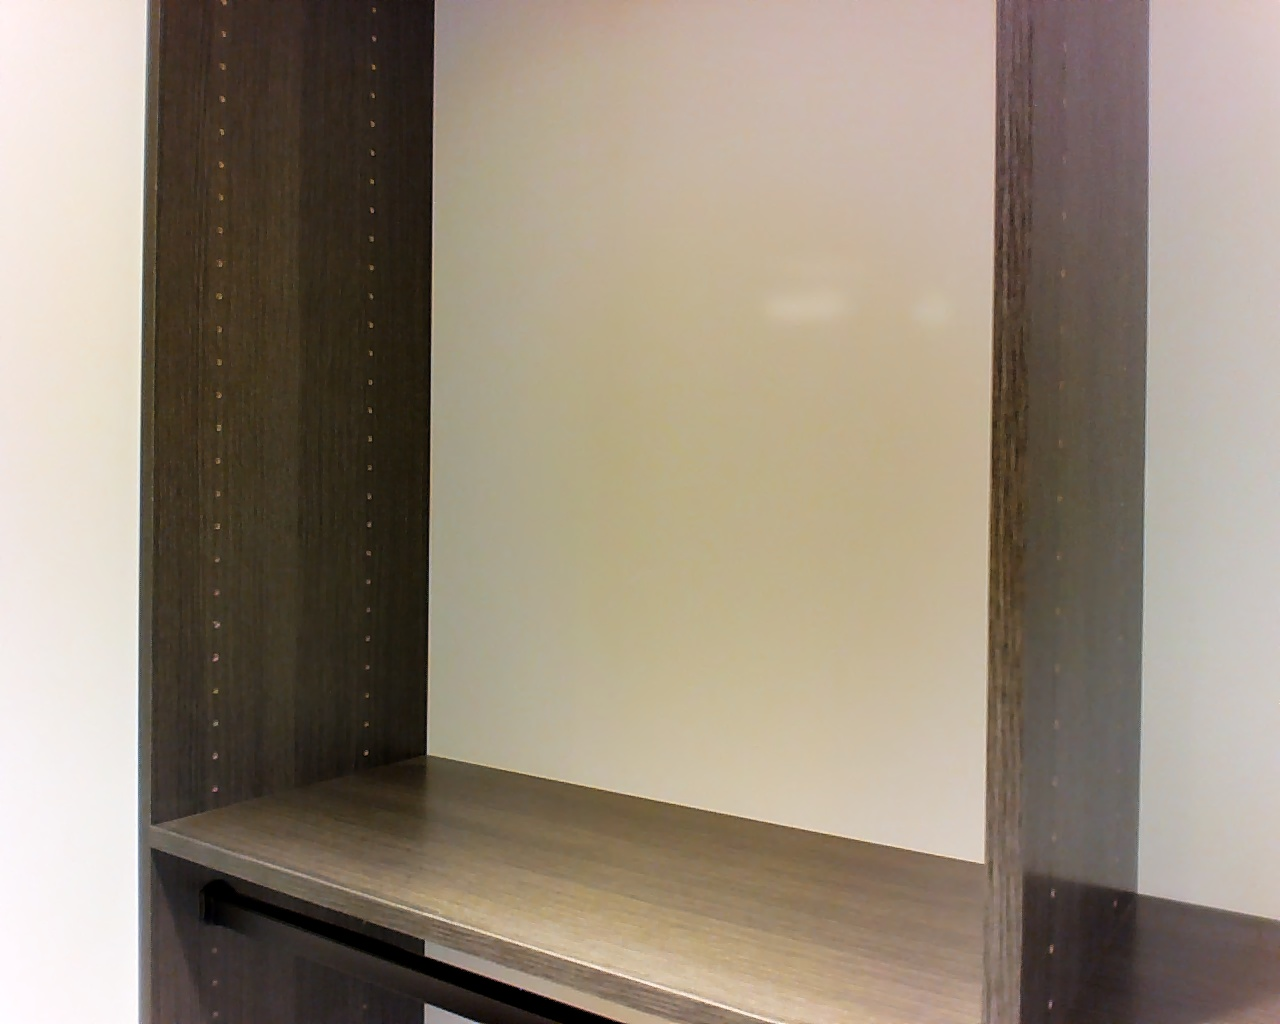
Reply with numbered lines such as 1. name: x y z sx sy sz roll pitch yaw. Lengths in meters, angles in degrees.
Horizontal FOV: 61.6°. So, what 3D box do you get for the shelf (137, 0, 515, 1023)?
1. shelf: -0.310 0.300 1.130 0.120 2.230 0.390 1 1 34
